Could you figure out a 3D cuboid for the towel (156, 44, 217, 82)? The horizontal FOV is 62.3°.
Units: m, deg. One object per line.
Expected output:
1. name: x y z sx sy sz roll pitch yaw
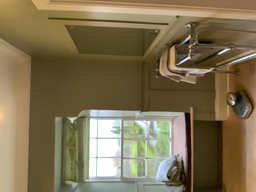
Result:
1. towel: 0.570 -0.320 2.180 0.460 0.470 0.280 143 128 -83
